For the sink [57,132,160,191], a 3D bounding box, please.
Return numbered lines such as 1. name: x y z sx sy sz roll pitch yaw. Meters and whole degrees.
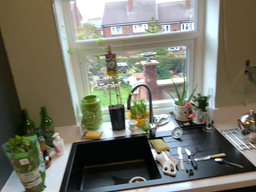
1. sink: -0.110 0.450 1.300 0.510 0.210 0.440 -6 20 -5
